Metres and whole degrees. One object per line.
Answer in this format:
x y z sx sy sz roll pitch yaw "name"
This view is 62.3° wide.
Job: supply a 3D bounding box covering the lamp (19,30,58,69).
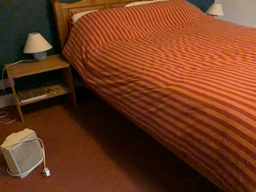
-0.830 -0.440 1.980 0.250 0.290 0.180 -18 32 -26 "lamp"
